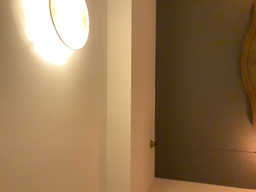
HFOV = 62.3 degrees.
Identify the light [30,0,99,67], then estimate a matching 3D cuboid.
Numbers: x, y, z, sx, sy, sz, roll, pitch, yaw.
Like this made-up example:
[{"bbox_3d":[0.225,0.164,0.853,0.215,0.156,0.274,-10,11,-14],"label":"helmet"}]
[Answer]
[{"bbox_3d":[-0.300,-0.400,1.060,0.350,0.110,0.410,-58,145,-58],"label":"light"}]
